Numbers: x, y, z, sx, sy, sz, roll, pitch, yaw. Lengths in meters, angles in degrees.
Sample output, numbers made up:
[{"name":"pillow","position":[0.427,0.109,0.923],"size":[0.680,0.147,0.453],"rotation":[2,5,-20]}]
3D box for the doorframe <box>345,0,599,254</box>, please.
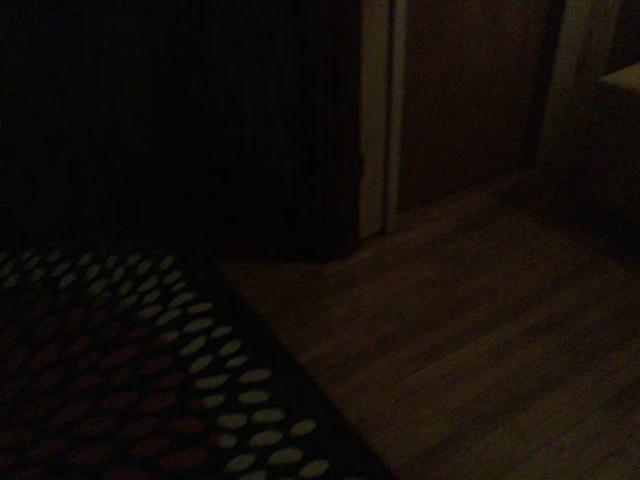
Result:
[{"name":"doorframe","position":[0.540,-0.990,1.720],"size":[0.920,2.100,0.140],"rotation":[-16,36,-25]}]
